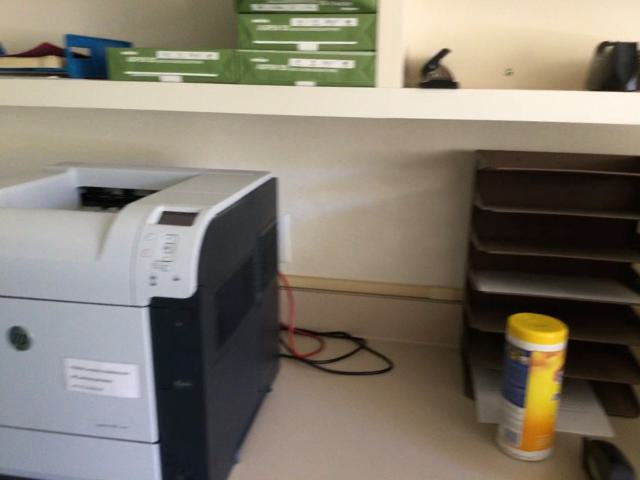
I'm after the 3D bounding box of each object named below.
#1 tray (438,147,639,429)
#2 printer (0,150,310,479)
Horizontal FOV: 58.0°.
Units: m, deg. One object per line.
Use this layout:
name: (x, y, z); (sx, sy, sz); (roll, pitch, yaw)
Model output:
tray: (0.410, 0.070, 1.100); (0.320, 0.450, 0.240); (6, 14, 10)
printer: (-0.300, 0.090, 0.990); (0.440, 0.410, 0.550); (6, 14, 10)
